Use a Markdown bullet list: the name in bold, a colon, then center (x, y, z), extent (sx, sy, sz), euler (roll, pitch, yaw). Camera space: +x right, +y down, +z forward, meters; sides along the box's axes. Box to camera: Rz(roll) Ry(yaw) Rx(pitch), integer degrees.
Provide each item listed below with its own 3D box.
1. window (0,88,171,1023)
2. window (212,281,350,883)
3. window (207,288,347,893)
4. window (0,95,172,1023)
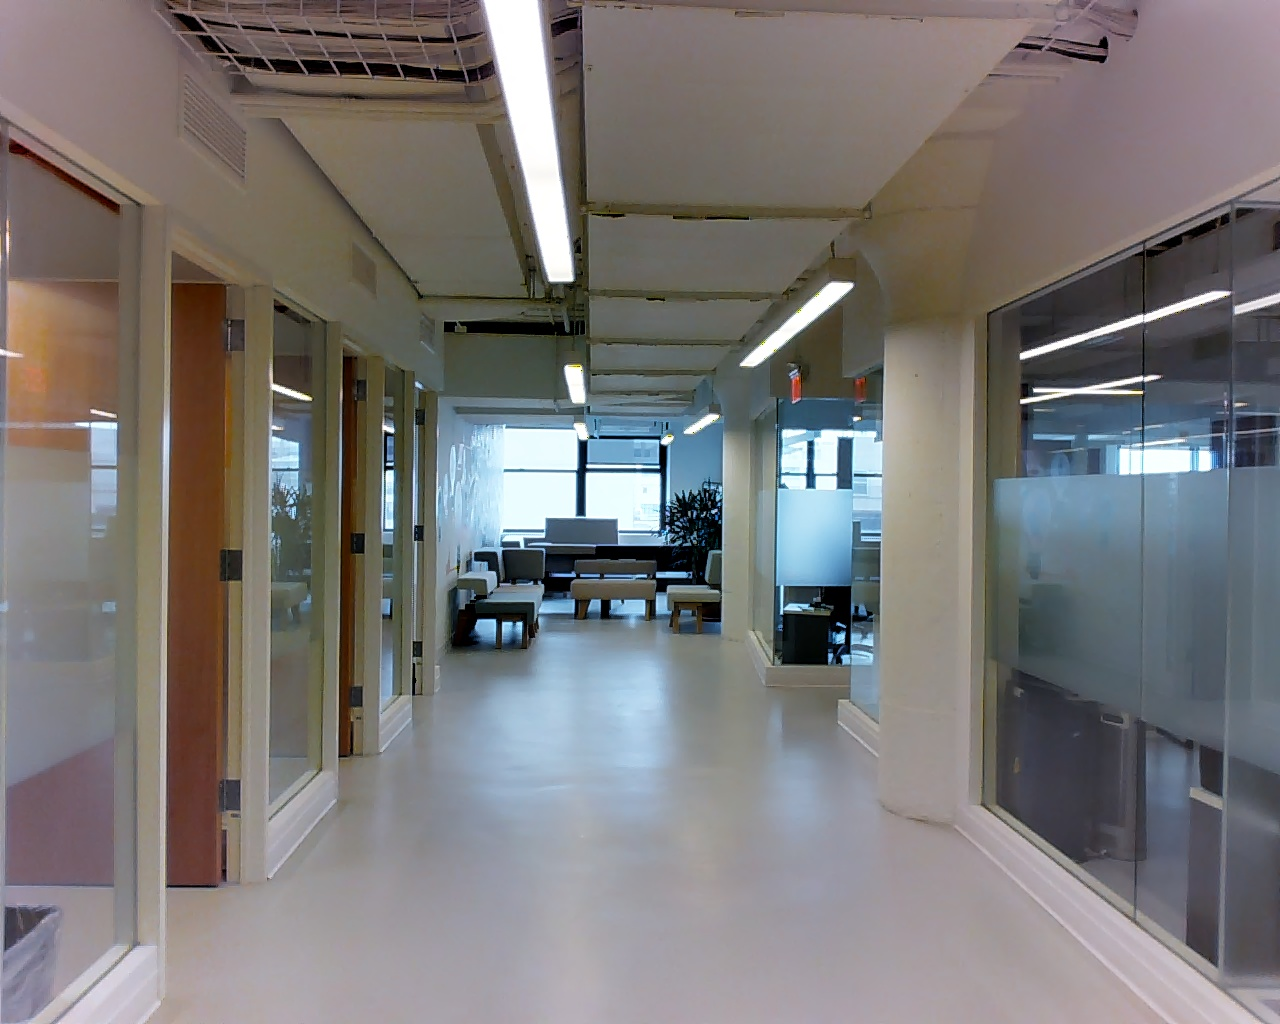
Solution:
- **window**: center (-1.330, 0.280, 2.560), extent (0.030, 2.261, 0.950), euler (1, 0, -3)
- **window**: center (-1.500, 0.260, 4.590), extent (0.230, 2.240, 1.190), euler (1, 0, -3)
- **window**: center (-1.500, 0.290, 4.540), extent (0.240, 2.240, 1.140), euler (1, 0, -3)
- **window**: center (-1.430, 0.280, 2.600), extent (0.190, 2.261, 0.960), euler (1, 0, -3)
